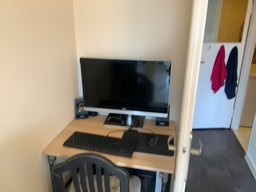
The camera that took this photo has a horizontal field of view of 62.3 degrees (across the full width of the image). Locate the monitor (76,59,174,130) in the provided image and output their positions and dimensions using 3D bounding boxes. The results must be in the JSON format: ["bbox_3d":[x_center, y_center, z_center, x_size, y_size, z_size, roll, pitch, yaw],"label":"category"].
[{"bbox_3d":[-0.040,-0.010,1.600,0.700,0.480,0.050,6,21,9],"label":"monitor"}]

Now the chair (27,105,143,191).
[{"bbox_3d":[-0.190,0.640,1.410,0.490,0.960,0.650,4,20,6],"label":"chair"}]
